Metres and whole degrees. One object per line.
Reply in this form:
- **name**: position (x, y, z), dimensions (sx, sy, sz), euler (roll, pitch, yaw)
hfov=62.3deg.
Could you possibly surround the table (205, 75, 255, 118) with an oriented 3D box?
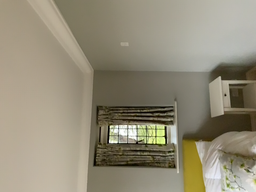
- **table**: position (1.420, 0.020, 2.730), dimensions (0.390, 0.680, 0.470), euler (85, -174, -78)
